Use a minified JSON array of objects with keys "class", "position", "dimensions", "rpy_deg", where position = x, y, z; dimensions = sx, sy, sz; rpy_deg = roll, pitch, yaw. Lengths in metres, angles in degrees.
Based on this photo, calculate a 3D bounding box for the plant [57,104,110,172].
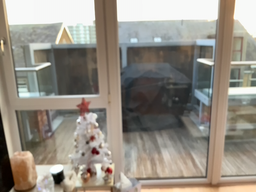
[{"class":"plant","position":[-0.350,0.340,1.780],"dimensions":[0.350,0.480,0.280],"rpy_deg":[-1,14,1]}]
